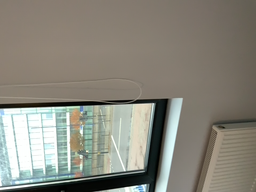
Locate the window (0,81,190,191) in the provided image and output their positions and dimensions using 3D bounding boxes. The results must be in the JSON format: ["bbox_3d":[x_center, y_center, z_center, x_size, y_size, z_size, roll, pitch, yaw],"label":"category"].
[{"bbox_3d":[-0.390,0.640,1.480,0.080,1.430,1.550,-119,30,-58],"label":"window"}]
